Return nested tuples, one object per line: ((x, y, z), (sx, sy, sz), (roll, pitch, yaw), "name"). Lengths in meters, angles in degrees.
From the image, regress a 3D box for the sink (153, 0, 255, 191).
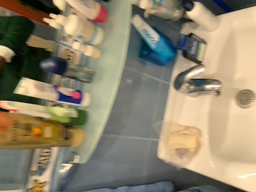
((0.330, 0.000, 0.640), (0.390, 0.190, 0.510), (6, 83, 50), "sink")
